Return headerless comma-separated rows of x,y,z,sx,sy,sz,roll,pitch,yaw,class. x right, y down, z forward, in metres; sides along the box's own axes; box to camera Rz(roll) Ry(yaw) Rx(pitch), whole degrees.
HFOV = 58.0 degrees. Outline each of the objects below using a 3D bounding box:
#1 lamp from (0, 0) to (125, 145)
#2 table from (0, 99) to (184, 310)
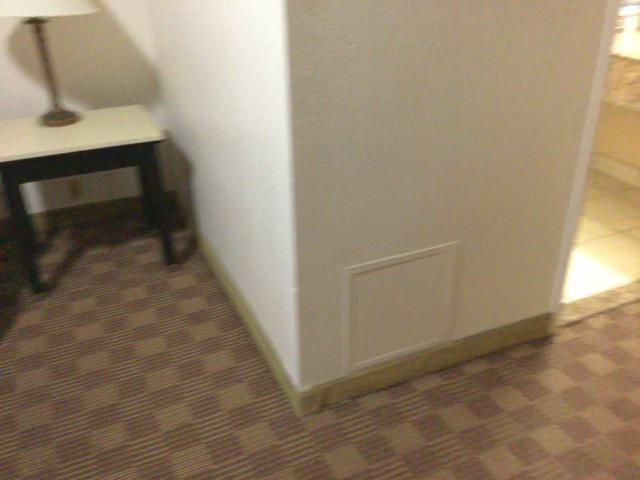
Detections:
-1.010,-0.740,2.090,0.450,0.680,0.300,-12,30,-24,lamp
-0.960,-0.180,2.380,0.640,0.640,0.510,-10,29,-22,table
